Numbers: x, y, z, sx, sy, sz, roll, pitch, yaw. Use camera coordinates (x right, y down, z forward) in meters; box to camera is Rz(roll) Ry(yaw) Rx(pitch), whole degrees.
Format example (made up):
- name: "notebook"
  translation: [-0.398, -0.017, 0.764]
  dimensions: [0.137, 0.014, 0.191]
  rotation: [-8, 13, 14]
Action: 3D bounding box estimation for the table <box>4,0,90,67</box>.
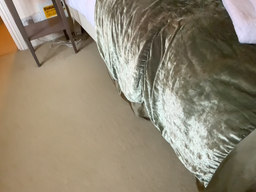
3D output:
- name: "table"
  translation: [-0.720, -0.730, 1.830]
  dimensions: [0.490, 0.690, 0.450]
  rotation: [-26, 48, -16]
